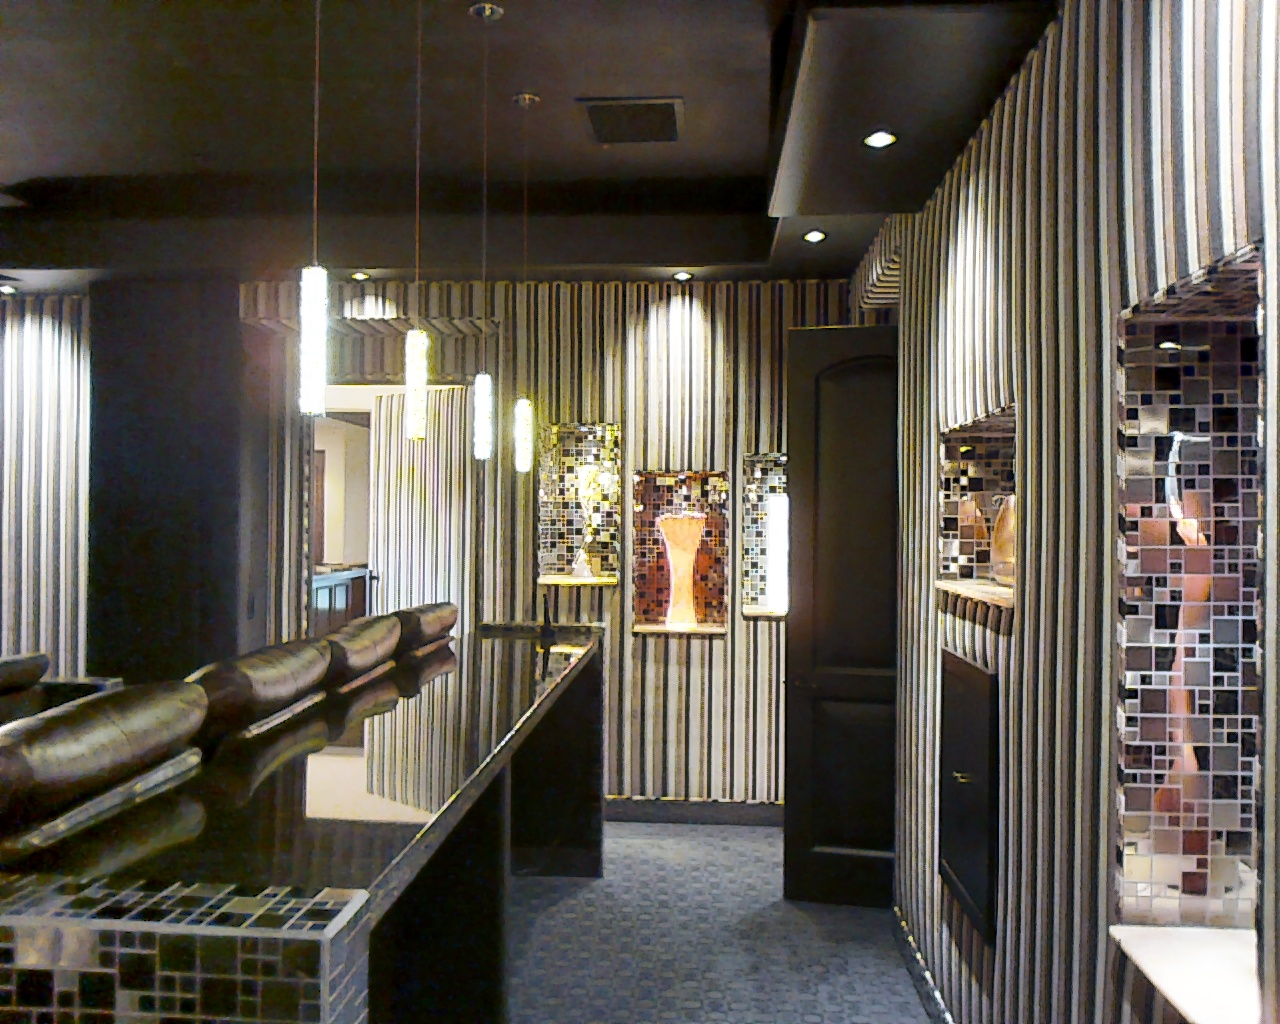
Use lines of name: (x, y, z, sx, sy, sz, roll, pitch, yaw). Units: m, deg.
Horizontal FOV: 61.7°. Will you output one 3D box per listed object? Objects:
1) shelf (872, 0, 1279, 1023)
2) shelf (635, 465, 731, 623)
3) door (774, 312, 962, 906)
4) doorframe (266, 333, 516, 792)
shelf: (0.990, 0.220, 1.490, 0.440, 2.790, 5.480, 1, 0, 3)
shelf: (0.240, 0.170, 5.860, 0.500, 0.830, 0.360, 1, 0, 3)
door: (0.950, 0.390, 4.500, 0.740, 2.420, 0.150, 1, 0, 10)
doorframe: (-1.450, 0.280, 6.280, 1.390, 2.620, 0.240, 1, 0, 3)
